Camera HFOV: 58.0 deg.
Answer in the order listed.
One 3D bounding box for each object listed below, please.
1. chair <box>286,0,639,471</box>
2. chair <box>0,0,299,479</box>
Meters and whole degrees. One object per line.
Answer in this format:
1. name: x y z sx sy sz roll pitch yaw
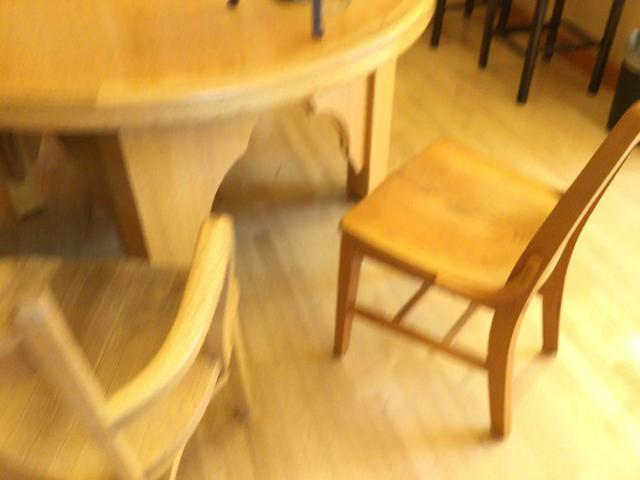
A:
1. chair: 0.350 -0.070 1.270 0.640 0.880 0.470 26 49 28
2. chair: -0.430 0.200 0.930 0.640 0.920 0.670 4 42 7
